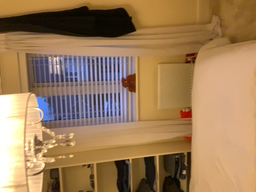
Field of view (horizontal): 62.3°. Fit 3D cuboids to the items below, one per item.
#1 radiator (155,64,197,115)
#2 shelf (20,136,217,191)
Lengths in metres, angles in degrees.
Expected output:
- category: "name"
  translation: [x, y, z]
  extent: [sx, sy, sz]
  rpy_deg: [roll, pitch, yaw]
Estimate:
- category: "radiator"
  translation: [0.550, -0.080, 2.400]
  extent: [0.100, 0.470, 0.550]
  rpy_deg: [-165, 72, -74]
- category: "shelf"
  translation: [0.000, 1.070, 2.320]
  extent: [0.270, 2.030, 1.020]
  rpy_deg: [-157, 65, -74]
